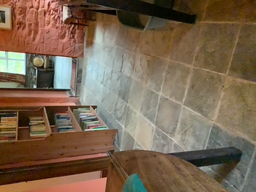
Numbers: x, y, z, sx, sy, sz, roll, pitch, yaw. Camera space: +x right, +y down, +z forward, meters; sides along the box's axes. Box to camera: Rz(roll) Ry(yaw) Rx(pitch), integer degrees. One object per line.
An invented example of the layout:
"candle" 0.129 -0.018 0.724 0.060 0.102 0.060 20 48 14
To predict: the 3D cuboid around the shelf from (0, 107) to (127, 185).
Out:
"shelf" -1.100 0.510 2.560 1.020 1.880 0.400 33 118 58
